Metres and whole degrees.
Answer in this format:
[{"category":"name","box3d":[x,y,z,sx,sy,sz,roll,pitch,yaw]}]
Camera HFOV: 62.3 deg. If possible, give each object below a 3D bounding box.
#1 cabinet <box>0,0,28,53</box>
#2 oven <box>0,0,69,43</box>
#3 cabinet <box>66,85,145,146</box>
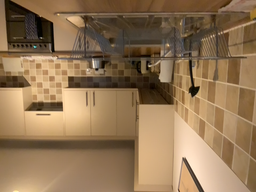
[{"category":"cabinet","box3d":[-1.850,-1.040,2.760,0.740,0.900,0.650,1,-171,1]},{"category":"oven","box3d":[-1.170,-1.110,2.730,0.600,0.760,0.670,1,-171,1]},{"category":"cabinet","box3d":[-0.310,0.270,3.120,1.090,0.840,0.300,1,-171,1]}]
